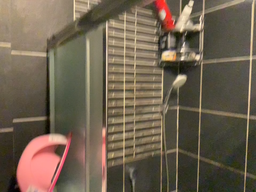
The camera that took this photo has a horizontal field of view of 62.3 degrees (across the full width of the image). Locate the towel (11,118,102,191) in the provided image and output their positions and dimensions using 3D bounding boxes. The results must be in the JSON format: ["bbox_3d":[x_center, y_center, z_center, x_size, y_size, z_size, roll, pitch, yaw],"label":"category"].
[{"bbox_3d":[-0.310,0.510,0.880,0.260,0.770,0.380,-2,5,-33],"label":"towel"}]
